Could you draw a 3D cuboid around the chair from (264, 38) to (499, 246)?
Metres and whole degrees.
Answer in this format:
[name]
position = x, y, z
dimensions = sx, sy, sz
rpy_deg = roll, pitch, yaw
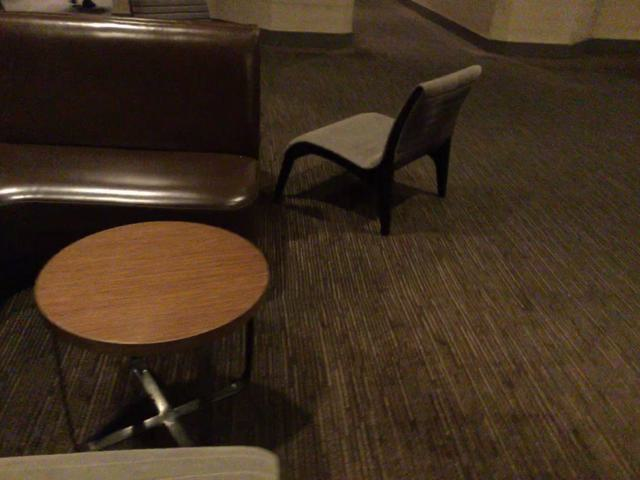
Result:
[chair]
position = 0.300, -0.560, 2.930
dimensions = 0.810, 0.780, 0.800
rpy_deg = 19, 27, 30

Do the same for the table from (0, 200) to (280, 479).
[table]
position = -0.430, 0.240, 1.560
dimensions = 0.580, 0.490, 0.560
rpy_deg = 0, 30, -9
